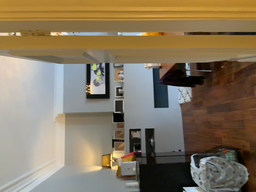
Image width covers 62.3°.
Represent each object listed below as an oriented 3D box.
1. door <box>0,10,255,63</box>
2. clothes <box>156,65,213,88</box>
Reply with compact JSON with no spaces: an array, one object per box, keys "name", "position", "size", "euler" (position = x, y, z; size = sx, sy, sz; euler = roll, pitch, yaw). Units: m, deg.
[{"name":"door","position":[0.420,-0.250,1.130],"size":[0.950,2.160,0.120],"euler":[-116,26,-82]},{"name":"clothes","position":[0.950,-0.330,3.710],"size":[0.710,0.770,0.260],"euler":[118,152,-83]}]
